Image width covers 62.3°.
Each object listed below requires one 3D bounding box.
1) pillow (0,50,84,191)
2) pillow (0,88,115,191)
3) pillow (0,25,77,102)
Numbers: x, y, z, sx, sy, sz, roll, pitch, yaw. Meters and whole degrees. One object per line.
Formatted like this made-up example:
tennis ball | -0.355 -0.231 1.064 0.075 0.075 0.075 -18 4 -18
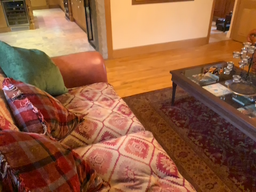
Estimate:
pillow | -0.700 0.210 1.680 0.480 0.920 0.660 -11 32 -19
pillow | -0.390 0.360 1.030 0.440 0.480 0.670 -13 33 -22
pillow | -0.910 -0.340 1.910 0.550 0.410 0.660 12 32 19
